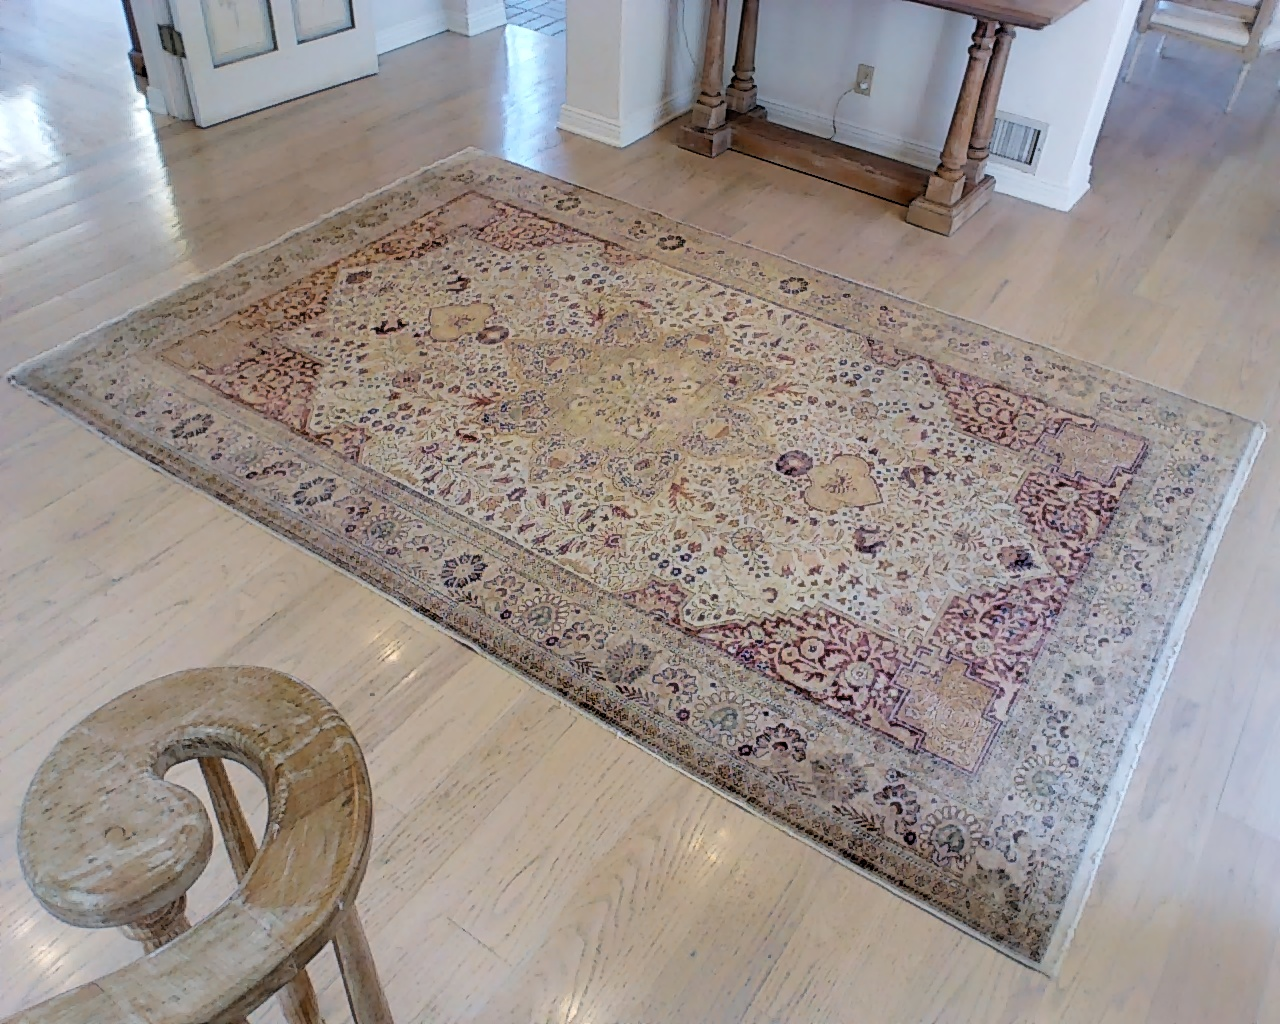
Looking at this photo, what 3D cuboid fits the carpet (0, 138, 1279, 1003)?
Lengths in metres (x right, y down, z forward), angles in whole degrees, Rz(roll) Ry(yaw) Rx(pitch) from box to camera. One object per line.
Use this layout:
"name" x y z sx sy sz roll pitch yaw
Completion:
"carpet" 0.030 -0.340 3.120 3.110 0.020 2.120 25 46 22
